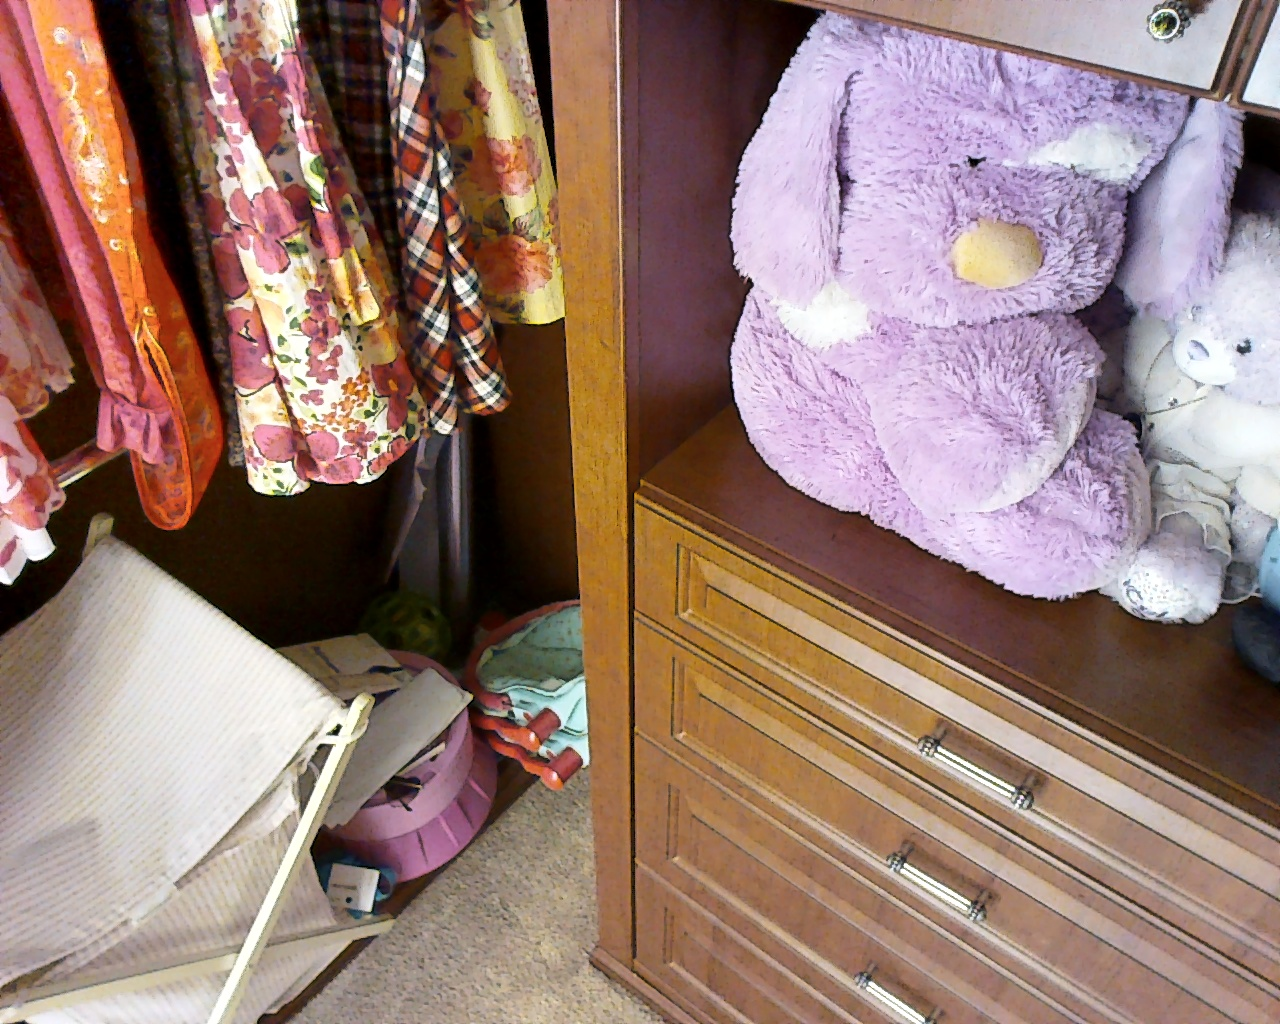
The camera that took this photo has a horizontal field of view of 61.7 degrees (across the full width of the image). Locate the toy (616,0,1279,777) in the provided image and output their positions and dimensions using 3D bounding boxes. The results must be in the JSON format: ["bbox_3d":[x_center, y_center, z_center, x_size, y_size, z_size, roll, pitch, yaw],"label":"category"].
[{"bbox_3d":[0.300,-0.190,0.840,0.430,0.440,0.470,28,49,28],"label":"toy"}]
